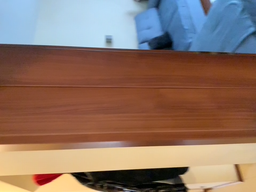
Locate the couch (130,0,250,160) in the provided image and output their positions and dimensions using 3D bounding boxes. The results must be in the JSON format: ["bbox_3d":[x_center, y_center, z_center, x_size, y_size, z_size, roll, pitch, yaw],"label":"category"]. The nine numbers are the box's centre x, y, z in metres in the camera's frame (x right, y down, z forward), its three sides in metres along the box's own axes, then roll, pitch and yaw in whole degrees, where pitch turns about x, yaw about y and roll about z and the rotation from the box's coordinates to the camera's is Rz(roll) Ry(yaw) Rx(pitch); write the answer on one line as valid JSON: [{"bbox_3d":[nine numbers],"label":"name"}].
[{"bbox_3d":[0.640,-0.640,3.310,1.190,0.860,2.930,107,162,-59],"label":"couch"}]
